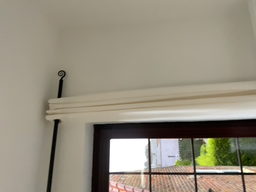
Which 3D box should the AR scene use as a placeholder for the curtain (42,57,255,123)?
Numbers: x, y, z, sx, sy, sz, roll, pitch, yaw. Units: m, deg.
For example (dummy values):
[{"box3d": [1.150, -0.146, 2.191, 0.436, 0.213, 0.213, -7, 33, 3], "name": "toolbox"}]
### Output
[{"box3d": [0.340, -0.030, 1.370, 0.140, 1.780, 0.360, 66, -157, -70], "name": "curtain"}]
